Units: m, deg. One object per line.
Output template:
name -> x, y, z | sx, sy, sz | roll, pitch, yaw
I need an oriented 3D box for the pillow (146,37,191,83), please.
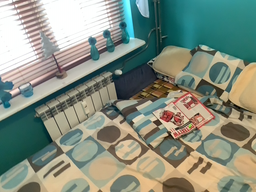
pillow -> 0.390, -0.340, 2.050 | 0.190, 0.300, 0.370 | -30, 110, -38
